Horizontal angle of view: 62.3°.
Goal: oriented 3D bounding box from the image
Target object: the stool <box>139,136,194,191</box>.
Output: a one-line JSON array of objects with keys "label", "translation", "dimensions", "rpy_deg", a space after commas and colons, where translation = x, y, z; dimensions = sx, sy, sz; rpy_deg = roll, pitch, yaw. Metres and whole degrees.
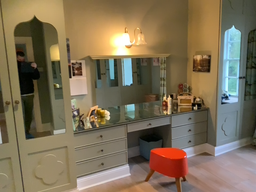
[{"label": "stool", "translation": [0.420, 0.780, 2.460], "dimensions": [0.530, 0.460, 0.460], "rpy_deg": [-2, 10, 0]}]

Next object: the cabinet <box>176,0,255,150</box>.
[{"label": "cabinet", "translation": [1.470, -0.580, 3.540], "dimensions": [1.120, 2.630, 0.680], "rpy_deg": [-7, 11, -27]}]
